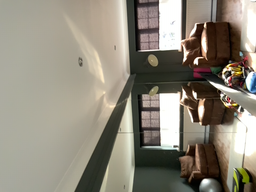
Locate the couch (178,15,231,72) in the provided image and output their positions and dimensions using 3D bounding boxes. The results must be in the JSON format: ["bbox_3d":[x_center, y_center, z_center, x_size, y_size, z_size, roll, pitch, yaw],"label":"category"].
[{"bbox_3d":[1.650,-1.120,4.760,0.890,0.890,0.950,58,-149,-80],"label":"couch"}]
